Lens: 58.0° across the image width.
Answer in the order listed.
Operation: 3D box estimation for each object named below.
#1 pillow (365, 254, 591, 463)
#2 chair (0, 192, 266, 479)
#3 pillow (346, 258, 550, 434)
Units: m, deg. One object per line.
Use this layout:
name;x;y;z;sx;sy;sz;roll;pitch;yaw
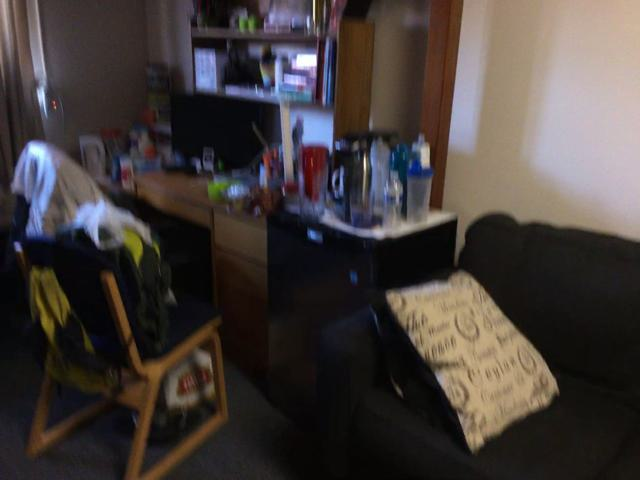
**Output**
pillow;0.450;0.290;1.640;0.390;0.310;0.510;18;24;41
chair;-0.650;0.330;2.070;0.600;0.820;0.680;18;24;41
pillow;0.390;0.280;1.740;0.350;0.260;0.530;18;24;41
